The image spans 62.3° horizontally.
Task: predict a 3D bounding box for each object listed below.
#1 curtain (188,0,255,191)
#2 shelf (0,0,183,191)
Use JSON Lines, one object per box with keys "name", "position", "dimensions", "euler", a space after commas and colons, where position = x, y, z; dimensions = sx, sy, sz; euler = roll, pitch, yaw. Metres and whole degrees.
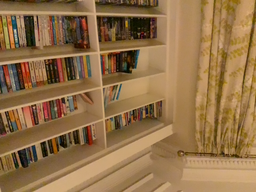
{"name": "curtain", "position": [0.910, -0.680, 1.720], "dimensions": [0.390, 3.200, 0.510], "euler": [-16, -158, -39]}
{"name": "shelf", "position": [-0.280, -0.330, 1.700], "dimensions": [1.650, 1.930, 0.480], "euler": [-16, -158, -37]}
